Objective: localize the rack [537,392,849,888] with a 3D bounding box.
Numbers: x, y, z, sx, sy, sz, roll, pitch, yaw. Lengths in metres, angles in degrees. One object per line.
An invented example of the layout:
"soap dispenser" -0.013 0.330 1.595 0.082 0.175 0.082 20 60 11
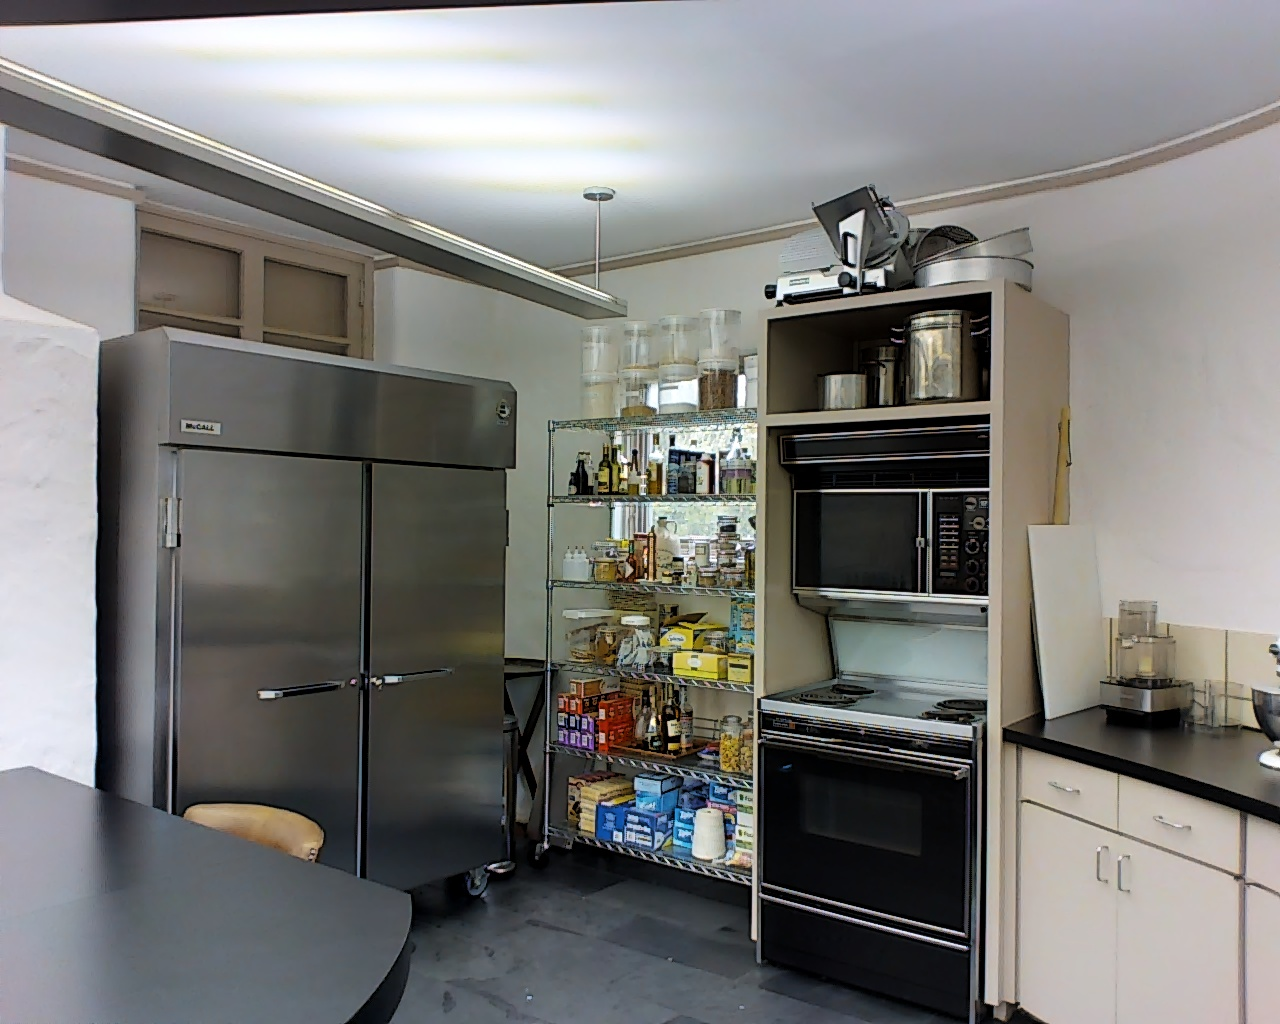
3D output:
"rack" 0.200 0.470 4.520 1.220 1.820 0.520 0 0 38

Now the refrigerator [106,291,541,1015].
"refrigerator" -1.020 0.410 3.800 0.370 2.080 1.530 0 0 38
